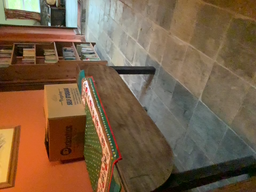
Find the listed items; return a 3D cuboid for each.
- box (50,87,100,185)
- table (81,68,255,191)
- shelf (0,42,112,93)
[{"bbox_3d":[-0.430,0.290,1.640,0.450,0.280,0.550,-124,36,-50],"label":"box"},{"bbox_3d":[0.210,0.450,1.430,1.450,0.750,0.690,-123,36,-49],"label":"table"},{"bbox_3d":[-1.330,-0.530,3.560,1.020,1.880,0.400,-124,36,-50],"label":"shelf"}]
